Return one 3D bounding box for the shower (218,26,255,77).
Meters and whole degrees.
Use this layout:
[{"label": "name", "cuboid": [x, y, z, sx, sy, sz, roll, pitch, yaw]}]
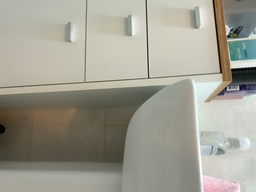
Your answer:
[{"label": "shower", "cuboid": [0.330, -0.110, 0.520, 0.070, 0.180, 0.100, 43, 45, -76]}]
